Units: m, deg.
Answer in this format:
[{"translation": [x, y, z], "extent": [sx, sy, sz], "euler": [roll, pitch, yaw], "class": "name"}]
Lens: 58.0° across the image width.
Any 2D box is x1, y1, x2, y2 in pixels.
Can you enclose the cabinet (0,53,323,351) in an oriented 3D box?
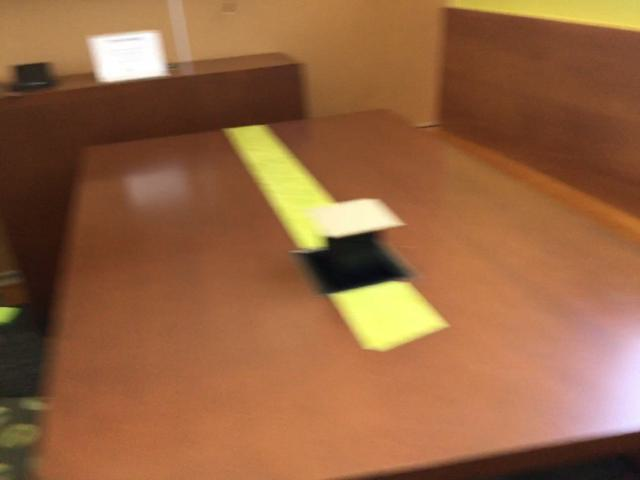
[{"translation": [-0.620, -0.180, 2.240], "extent": [1.180, 0.920, 0.330], "euler": [-11, 25, -17], "class": "cabinet"}]
